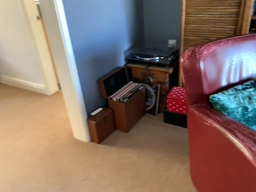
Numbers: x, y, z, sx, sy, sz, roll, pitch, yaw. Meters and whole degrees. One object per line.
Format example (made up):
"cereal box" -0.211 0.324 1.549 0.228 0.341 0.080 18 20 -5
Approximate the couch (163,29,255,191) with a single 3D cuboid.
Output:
"couch" 0.710 0.190 1.070 0.790 0.840 0.760 -13 30 -14
